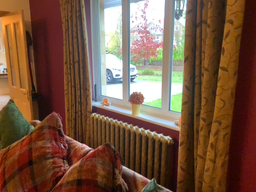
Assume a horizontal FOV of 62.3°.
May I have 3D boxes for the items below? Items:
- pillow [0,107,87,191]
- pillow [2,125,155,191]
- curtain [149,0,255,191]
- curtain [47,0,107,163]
[{"bbox_3d":[-0.600,0.430,1.420,0.410,0.560,0.530,-10,16,-41],"label":"pillow"},{"bbox_3d":[-0.240,0.520,1.040,0.480,0.540,0.540,-11,17,-43],"label":"pillow"},{"bbox_3d":[0.560,-0.030,1.530,0.610,2.300,0.450,11,16,41],"label":"curtain"},{"bbox_3d":[-0.610,-0.310,2.570,0.380,2.070,0.620,-11,17,-43],"label":"curtain"}]
